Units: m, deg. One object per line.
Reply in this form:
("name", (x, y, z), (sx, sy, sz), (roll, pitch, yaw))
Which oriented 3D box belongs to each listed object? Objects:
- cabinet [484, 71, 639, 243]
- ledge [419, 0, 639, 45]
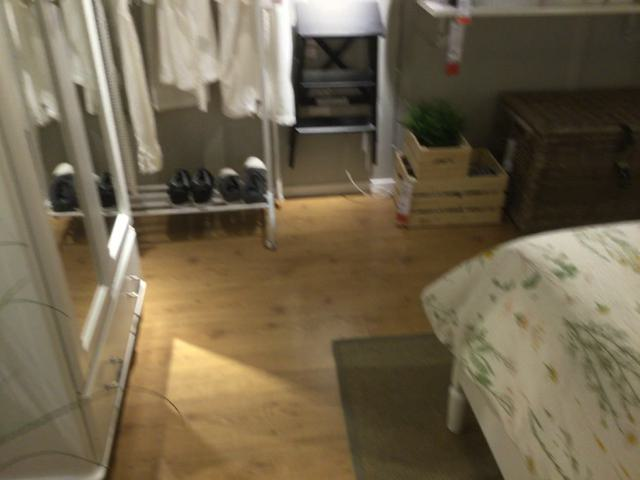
("cabinet", (1.260, -0.400, 2.610), (0.830, 0.520, 0.540), (-8, 31, -4))
("ledge", (1.010, -1.050, 2.340), (1.160, 0.320, 0.310), (-8, 31, -4))
